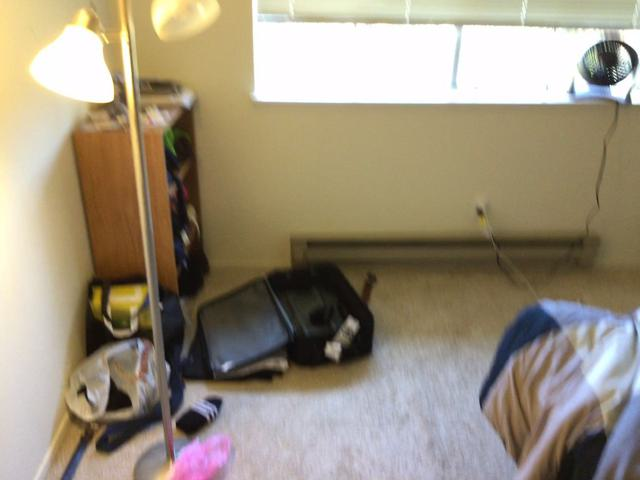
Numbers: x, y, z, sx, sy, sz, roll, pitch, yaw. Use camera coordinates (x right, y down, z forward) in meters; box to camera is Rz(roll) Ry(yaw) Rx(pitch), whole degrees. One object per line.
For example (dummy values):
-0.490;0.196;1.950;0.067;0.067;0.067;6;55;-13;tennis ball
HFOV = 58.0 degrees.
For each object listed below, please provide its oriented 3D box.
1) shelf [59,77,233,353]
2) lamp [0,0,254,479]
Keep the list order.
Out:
-0.650;-0.130;2.410;0.380;0.950;0.690;-1;25;1;shelf
-0.430;-0.030;1.370;0.380;1.690;0.270;-1;25;1;lamp
